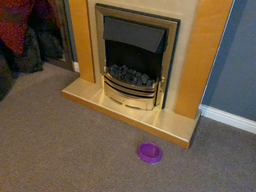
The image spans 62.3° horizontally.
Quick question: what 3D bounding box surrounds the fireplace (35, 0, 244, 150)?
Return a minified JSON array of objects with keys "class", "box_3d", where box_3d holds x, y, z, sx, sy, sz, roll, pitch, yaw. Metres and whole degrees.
[{"class":"fireplace","box_3d":[0.010,-0.320,1.240,1.030,1.020,0.330,19,43,20]}]
